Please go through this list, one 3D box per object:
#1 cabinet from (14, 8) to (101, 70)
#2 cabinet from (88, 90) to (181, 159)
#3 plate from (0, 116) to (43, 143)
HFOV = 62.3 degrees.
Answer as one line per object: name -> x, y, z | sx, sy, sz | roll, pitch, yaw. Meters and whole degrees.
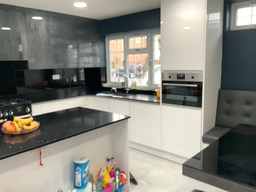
cabinet -> -1.260, -1.030, 4.130 | 0.380, 0.980, 1.560 | 6, 12, 40
cabinet -> 0.070, 0.410, 3.940 | 1.640, 0.880, 0.680 | 6, 12, 40
plate -> -0.970, 0.290, 1.910 | 0.270, 0.120, 0.280 | 7, 12, 42
